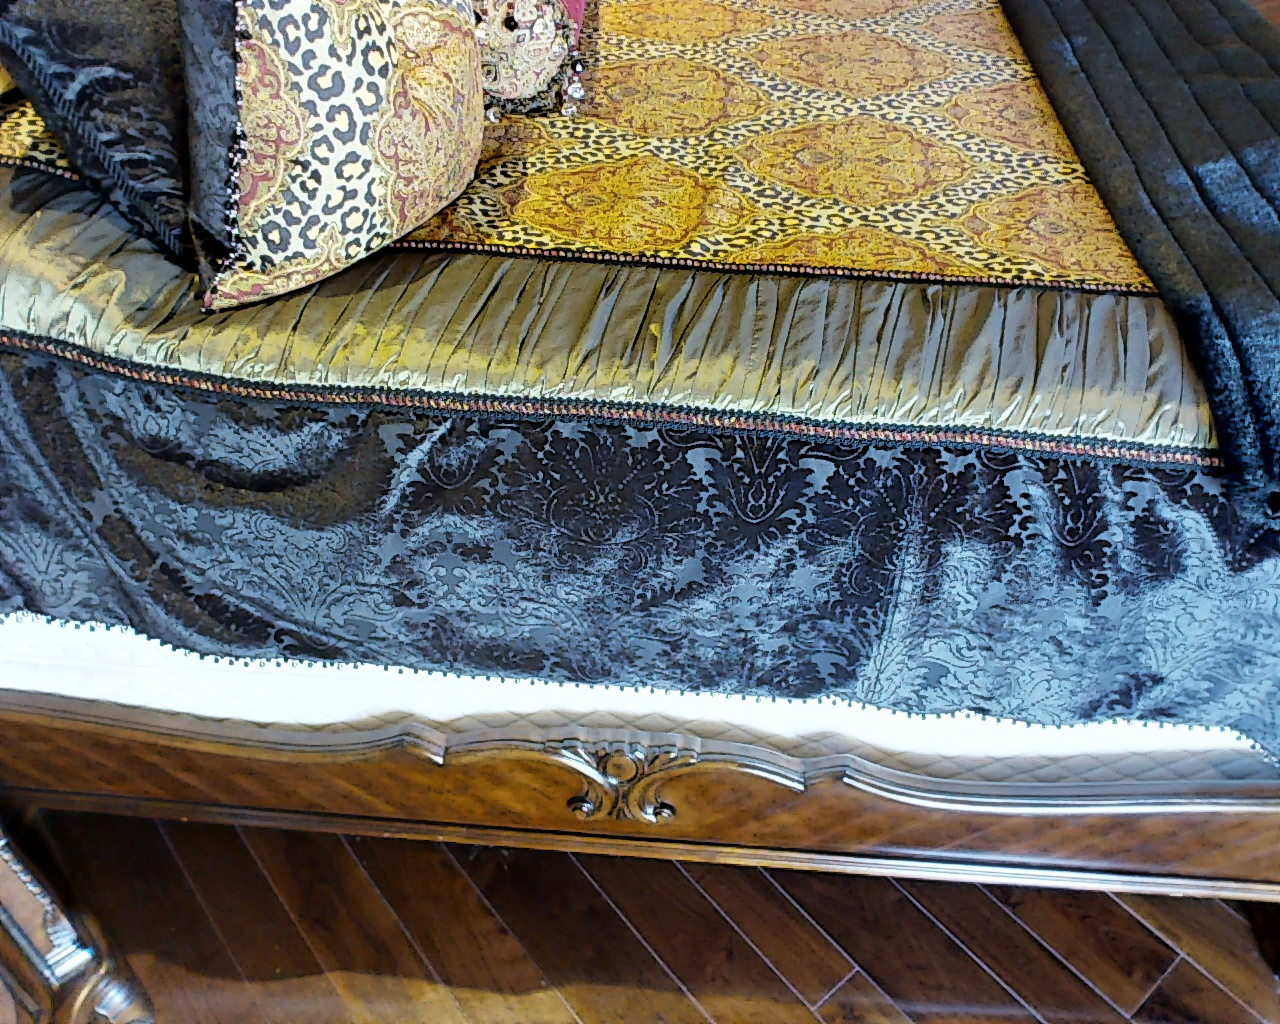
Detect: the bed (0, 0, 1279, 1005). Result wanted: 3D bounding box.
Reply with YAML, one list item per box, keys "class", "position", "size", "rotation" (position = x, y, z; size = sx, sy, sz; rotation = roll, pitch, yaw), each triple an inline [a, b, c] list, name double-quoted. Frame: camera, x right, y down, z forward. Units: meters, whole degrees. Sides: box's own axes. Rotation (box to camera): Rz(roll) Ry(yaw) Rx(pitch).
- class: "bed"
  position: [0.070, -0.440, 2.110]
  size: [2.170, 1.070, 2.140]
  rotation: [4, 43, 4]
